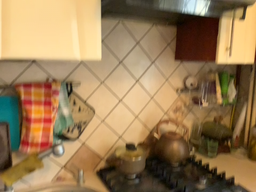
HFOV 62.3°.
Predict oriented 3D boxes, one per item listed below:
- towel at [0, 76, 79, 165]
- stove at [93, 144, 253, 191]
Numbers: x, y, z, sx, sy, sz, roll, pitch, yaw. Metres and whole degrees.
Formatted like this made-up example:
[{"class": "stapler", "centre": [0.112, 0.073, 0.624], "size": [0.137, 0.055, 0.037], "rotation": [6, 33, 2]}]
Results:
[{"class": "towel", "centre": [-0.410, 0.090, 0.960], "size": [0.340, 0.350, 0.100], "rotation": [-5, 11, -29]}, {"class": "stove", "centre": [0.200, 0.400, 1.070], "size": [0.620, 0.040, 0.490], "rotation": [-4, 11, -28]}]
